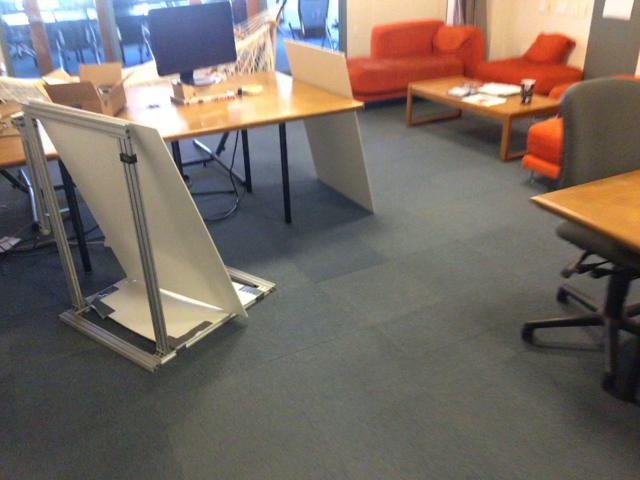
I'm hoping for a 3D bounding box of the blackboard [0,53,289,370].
[{"bbox_3d":[-0.720,-0.180,2.540,0.800,1.030,0.720,17,37,33],"label":"blackboard"}]

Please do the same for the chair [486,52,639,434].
[{"bbox_3d":[1.070,-0.020,2.050,0.590,1.060,0.680,-13,31,-14],"label":"chair"}]

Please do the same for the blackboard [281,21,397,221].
[{"bbox_3d":[0.070,-0.750,3.580,0.200,1.010,0.830,-6,28,-28],"label":"blackboard"}]

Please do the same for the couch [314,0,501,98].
[{"bbox_3d":[0.870,-2.020,5.890,1.550,0.660,0.950,-18,33,-21],"label":"couch"}]

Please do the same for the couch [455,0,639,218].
[{"bbox_3d":[2.210,-1.060,3.870,1.960,0.810,1.580,-18,33,-22],"label":"couch"}]
